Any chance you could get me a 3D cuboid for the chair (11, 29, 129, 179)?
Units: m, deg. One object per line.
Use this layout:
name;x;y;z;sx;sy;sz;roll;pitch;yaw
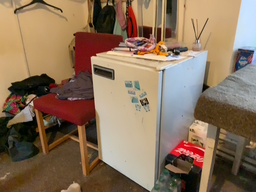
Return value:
chair;-0.370;0.000;1.630;0.510;0.910;0.580;14;28;30
